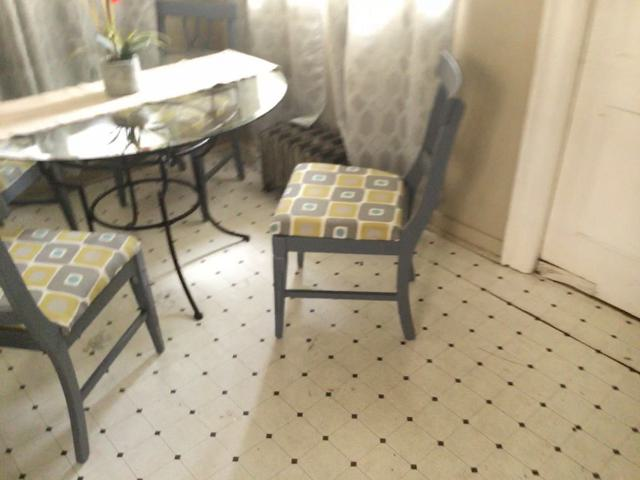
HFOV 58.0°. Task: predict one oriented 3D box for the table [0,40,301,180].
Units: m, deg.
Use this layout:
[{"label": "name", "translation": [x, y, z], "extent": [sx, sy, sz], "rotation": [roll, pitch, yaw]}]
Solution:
[{"label": "table", "translation": [-0.630, -0.500, 2.020], "extent": [1.100, 0.160, 0.420], "rotation": [-24, 38, -33]}]
